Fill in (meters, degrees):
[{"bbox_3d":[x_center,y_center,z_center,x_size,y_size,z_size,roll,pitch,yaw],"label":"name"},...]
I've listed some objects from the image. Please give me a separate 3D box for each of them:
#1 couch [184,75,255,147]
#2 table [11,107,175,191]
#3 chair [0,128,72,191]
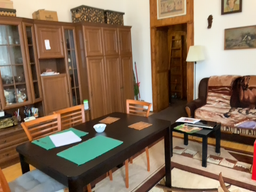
[{"bbox_3d":[2.100,0.210,3.500,2.090,0.960,0.910,6,14,39],"label":"couch"},{"bbox_3d":[-0.240,0.700,2.160,0.890,0.790,1.340,6,14,39],"label":"table"},{"bbox_3d":[-0.780,0.780,1.650,0.470,0.890,0.470,5,14,35],"label":"chair"}]
